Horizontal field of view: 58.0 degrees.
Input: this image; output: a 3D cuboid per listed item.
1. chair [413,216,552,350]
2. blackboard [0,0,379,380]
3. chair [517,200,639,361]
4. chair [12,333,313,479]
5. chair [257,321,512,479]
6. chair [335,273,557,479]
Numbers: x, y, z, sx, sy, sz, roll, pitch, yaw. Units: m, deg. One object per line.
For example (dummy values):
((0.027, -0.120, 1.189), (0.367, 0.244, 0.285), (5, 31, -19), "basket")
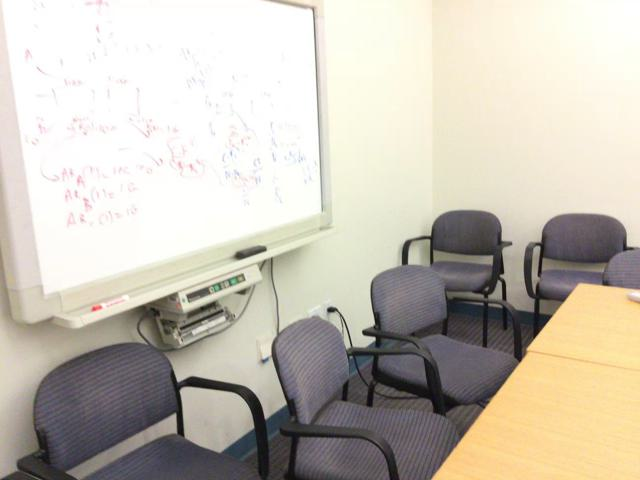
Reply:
((1.010, 0.220, 3.540), (0.640, 0.670, 0.620), (2, 8, 35), "chair")
((-0.350, -0.380, 2.060), (0.310, 1.240, 1.600), (2, 9, 36), "blackboard")
((1.460, 0.180, 3.200), (0.560, 0.760, 0.540), (2, 9, 36), "chair")
((-0.430, 0.720, 1.680), (0.620, 0.700, 0.540), (2, 9, 36), "chair")
((0.240, 0.710, 1.750), (0.620, 0.770, 0.570), (0, 7, 21), "chair")
((0.500, 0.530, 2.290), (0.570, 0.660, 0.630), (-9, 10, -43), "chair")
